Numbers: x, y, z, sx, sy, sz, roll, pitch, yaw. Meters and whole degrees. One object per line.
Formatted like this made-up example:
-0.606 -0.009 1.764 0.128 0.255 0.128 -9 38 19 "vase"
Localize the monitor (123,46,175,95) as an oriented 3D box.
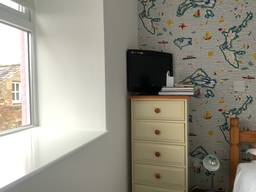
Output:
0.190 -0.200 1.770 0.500 0.370 0.040 -2 3 -31 "monitor"
